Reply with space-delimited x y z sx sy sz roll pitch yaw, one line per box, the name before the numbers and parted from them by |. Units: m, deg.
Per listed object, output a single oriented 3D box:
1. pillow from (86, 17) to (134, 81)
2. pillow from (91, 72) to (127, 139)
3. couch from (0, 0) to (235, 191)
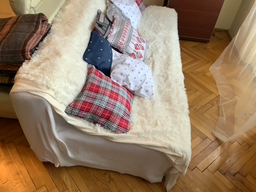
pillow | -0.120 -0.390 1.670 0.310 0.190 0.560 5 45 -1
pillow | -0.110 0.050 1.340 0.150 0.360 0.290 9 1 -2
couch | -0.010 -0.340 1.900 1.080 0.720 2.010 7 45 0
